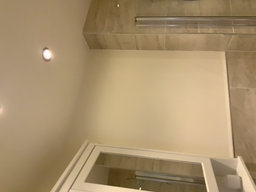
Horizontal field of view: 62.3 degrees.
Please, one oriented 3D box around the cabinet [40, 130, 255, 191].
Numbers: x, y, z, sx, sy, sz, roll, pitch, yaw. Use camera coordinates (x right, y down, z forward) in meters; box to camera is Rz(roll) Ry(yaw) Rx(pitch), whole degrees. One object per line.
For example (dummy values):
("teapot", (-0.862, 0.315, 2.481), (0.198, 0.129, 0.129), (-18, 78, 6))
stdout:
("cabinet", (0.120, 0.500, 1.040), (0.850, 1.010, 0.160), (-62, -25, -67))
